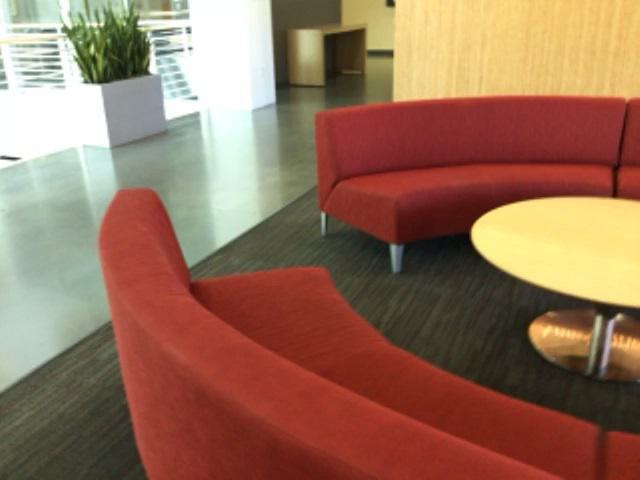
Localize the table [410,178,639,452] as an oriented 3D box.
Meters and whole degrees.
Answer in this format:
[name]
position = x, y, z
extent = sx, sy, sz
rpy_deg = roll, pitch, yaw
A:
[table]
position = 1.030, 0.200, 2.170
extent = 1.110, 0.520, 1.050
rpy_deg = 8, 24, 23
